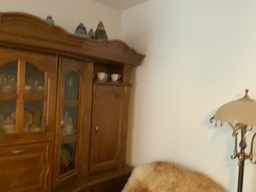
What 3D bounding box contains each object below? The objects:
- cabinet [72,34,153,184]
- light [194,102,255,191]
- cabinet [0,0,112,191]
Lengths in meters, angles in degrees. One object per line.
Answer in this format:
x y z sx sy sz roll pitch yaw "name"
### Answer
-0.170 0.110 2.240 0.580 1.310 0.550 1 3 -41 "cabinet"
0.680 0.840 1.410 0.350 1.580 0.350 1 3 -41 "light"
-0.830 0.090 1.630 1.220 1.330 0.630 1 3 -41 "cabinet"
